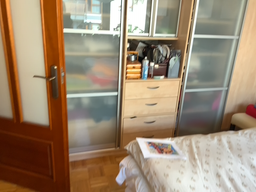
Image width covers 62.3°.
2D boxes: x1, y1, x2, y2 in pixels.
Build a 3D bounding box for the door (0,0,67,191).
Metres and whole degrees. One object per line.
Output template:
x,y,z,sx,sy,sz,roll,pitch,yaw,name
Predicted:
-0.850,-0.110,1.570,0.750,2.100,0.120,9,21,14,door
